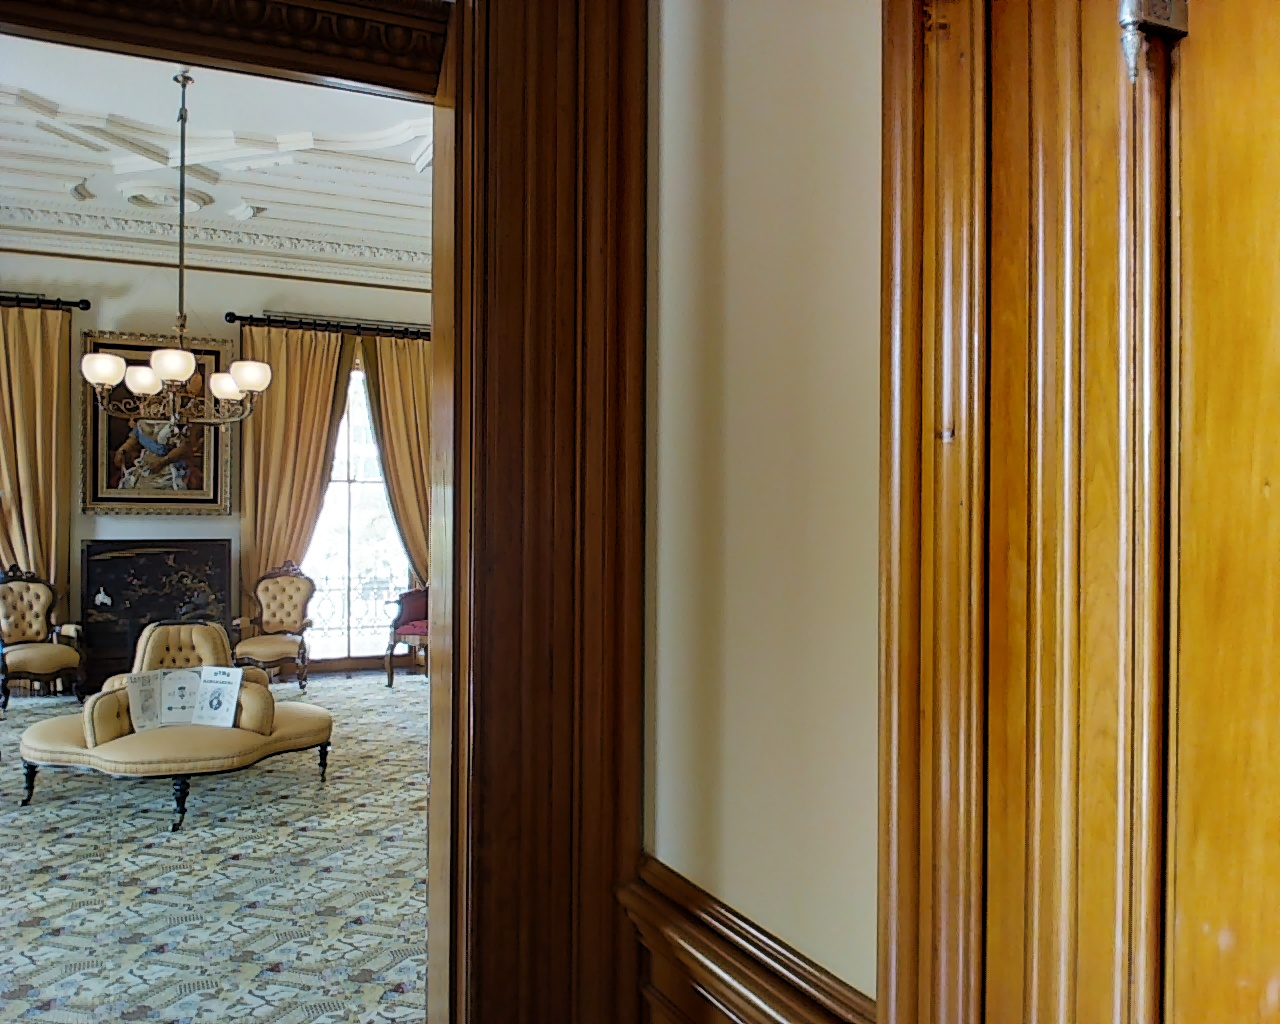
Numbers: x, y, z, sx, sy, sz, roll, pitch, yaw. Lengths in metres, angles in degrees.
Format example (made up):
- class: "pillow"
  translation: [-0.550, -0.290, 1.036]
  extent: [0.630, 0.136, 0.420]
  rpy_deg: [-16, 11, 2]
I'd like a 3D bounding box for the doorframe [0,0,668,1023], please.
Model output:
- class: "doorframe"
  translation: [-0.700, -0.110, 1.530]
  extent: [1.420, 3.270, 0.430]
  rpy_deg: [1, 0, -24]
